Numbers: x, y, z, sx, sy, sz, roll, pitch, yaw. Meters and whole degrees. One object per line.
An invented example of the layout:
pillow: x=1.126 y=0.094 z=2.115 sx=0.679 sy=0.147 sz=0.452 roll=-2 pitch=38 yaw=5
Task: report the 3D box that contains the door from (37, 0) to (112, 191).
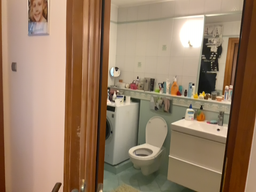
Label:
door: x=-0.190 y=0.350 z=1.010 sx=0.120 sy=2.070 sz=0.990 roll=3 pitch=8 yaw=-4
